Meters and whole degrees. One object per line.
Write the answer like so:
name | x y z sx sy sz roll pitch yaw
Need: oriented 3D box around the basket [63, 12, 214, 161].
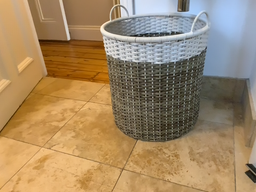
basket | 0.100 -0.100 1.010 0.500 0.480 0.500 8 33 20
